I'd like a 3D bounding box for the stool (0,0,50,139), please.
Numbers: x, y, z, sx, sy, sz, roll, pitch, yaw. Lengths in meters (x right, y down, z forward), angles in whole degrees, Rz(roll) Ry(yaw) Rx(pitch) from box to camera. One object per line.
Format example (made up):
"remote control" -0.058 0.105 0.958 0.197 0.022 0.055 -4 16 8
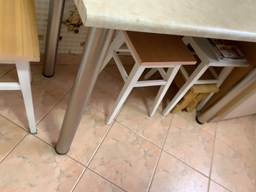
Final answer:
"stool" -0.500 -0.100 0.780 0.310 0.480 0.340 -4 56 -29

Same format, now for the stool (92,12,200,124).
"stool" 0.050 -0.120 1.090 0.300 0.450 0.310 -4 56 -30
